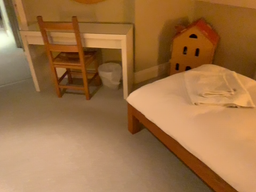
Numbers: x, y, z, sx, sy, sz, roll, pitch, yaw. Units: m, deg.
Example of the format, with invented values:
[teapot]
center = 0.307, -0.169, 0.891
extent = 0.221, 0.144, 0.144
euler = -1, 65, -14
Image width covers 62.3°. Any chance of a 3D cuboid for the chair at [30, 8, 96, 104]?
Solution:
[chair]
center = -0.660, -0.430, 2.340
extent = 0.410, 0.940, 0.410
euler = 6, 33, 10
